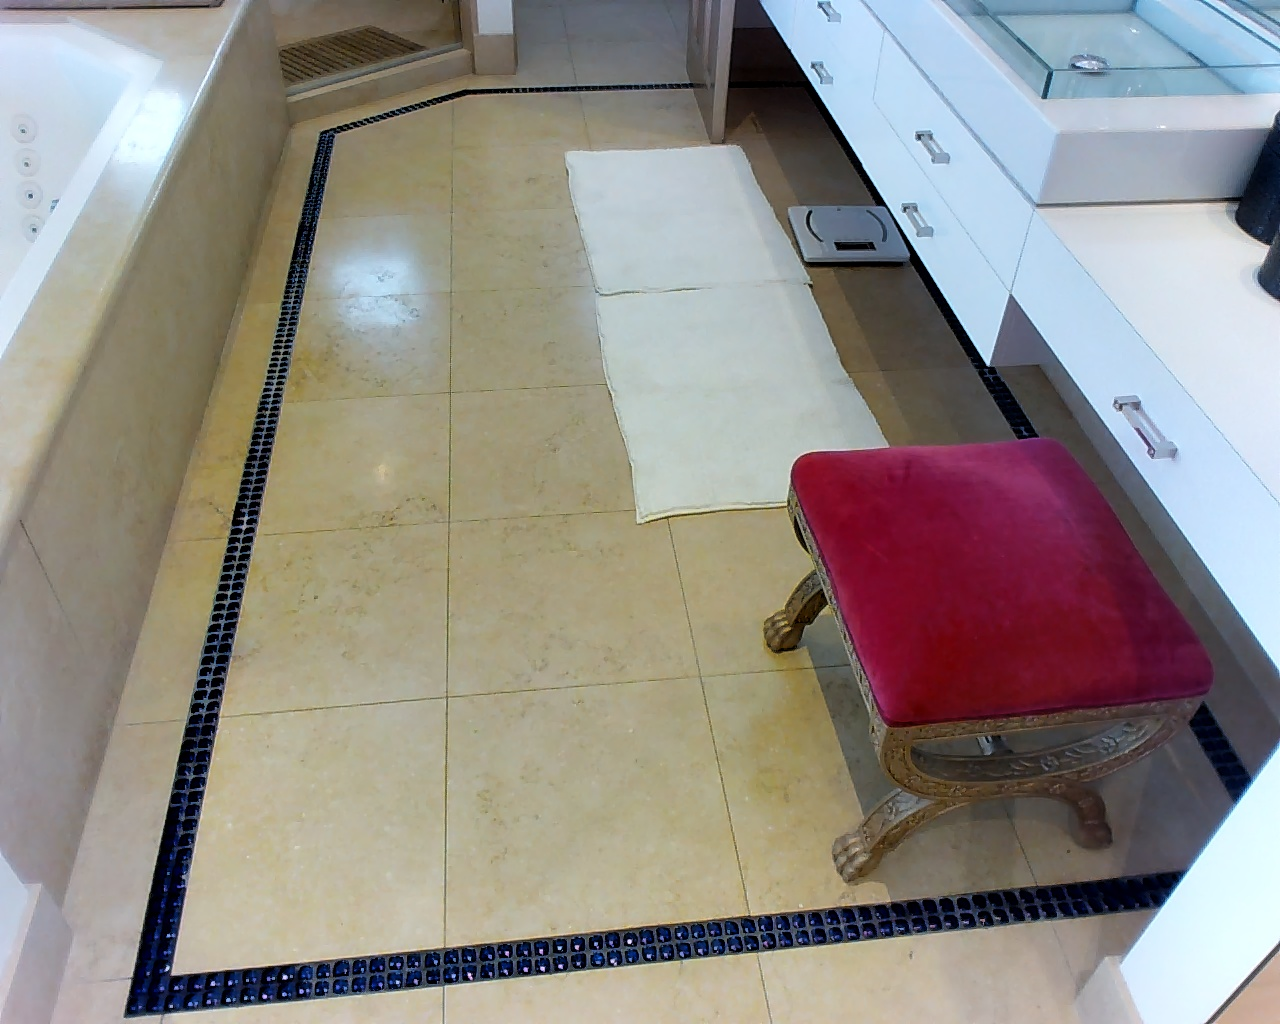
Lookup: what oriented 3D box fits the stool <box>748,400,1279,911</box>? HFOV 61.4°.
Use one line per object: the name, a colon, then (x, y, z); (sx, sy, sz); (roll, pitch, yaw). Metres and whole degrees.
stool: (0.520, 0.220, 1.750); (0.550, 0.540, 0.580); (-3, 43, -5)
